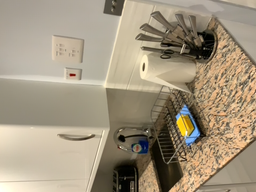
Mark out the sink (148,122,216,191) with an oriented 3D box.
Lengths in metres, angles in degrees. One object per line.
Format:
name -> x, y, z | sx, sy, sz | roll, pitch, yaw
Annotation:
sink -> 0.350, 0.450, 1.510 | 0.370, 0.240, 0.370 | 111, 157, -45

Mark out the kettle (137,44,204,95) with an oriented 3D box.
kettle -> 0.220, -0.140, 1.170 | 0.190, 0.280, 0.160 | 110, 158, -43
